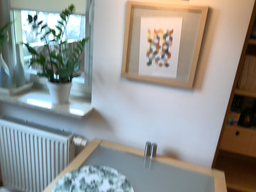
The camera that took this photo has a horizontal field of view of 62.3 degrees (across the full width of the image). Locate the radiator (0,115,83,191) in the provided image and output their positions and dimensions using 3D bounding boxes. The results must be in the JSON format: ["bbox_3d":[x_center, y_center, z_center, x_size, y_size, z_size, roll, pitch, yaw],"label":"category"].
[{"bbox_3d":[-0.680,0.560,1.590,0.670,0.700,0.140,11,20,15],"label":"radiator"}]
